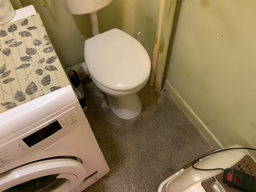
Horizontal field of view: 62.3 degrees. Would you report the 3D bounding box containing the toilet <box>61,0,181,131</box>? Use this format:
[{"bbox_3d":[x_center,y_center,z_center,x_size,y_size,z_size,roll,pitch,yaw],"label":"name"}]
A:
[{"bbox_3d":[-0.080,-0.300,1.210,0.360,0.960,0.570,-24,60,-13],"label":"toilet"}]
